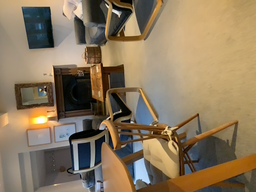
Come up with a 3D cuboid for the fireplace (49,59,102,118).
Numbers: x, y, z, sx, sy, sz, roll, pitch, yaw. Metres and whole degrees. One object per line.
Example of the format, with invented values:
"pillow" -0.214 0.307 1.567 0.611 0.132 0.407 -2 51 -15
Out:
"fireplace" -1.340 -0.210 5.400 0.670 1.150 1.340 -173 78 -71
